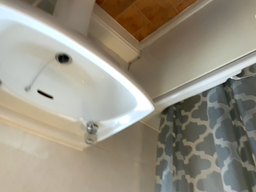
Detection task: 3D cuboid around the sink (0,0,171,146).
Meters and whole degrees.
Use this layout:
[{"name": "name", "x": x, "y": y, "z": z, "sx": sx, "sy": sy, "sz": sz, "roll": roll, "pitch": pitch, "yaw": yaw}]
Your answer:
[{"name": "sink", "x": -0.200, "y": -0.070, "z": 0.730, "sx": 0.410, "sy": 0.210, "sz": 0.610, "roll": -25, "pitch": 136, "yaw": 33}]
